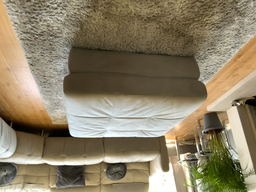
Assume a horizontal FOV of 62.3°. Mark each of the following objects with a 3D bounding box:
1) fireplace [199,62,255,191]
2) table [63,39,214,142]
[{"bbox_3d":[1.520,0.350,1.980,0.810,1.150,1.540,1,155,-11],"label":"fireplace"},{"bbox_3d":[-0.020,0.060,1.930,1.010,0.440,1.080,2,154,-12],"label":"table"}]
